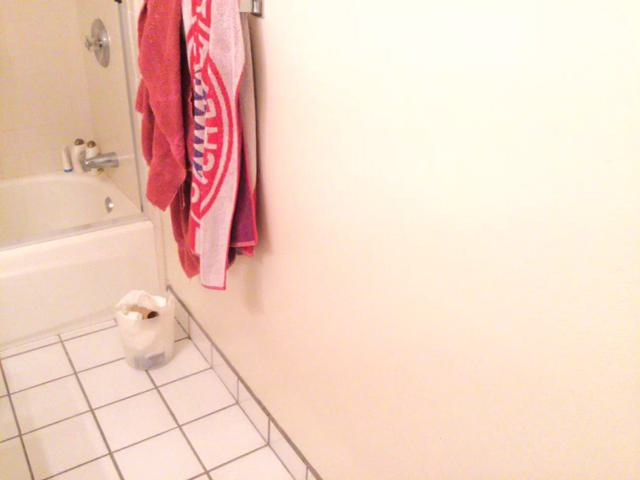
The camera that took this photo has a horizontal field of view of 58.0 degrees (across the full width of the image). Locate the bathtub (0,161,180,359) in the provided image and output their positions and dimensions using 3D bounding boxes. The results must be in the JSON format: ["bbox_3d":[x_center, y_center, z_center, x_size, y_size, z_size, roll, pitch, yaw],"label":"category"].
[{"bbox_3d":[-1.420,0.130,2.200,1.510,0.390,0.780,-18,30,-29],"label":"bathtub"}]

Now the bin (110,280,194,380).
[{"bbox_3d":[-0.590,0.310,2.030,0.200,0.230,0.200,-17,29,-29],"label":"bin"}]
